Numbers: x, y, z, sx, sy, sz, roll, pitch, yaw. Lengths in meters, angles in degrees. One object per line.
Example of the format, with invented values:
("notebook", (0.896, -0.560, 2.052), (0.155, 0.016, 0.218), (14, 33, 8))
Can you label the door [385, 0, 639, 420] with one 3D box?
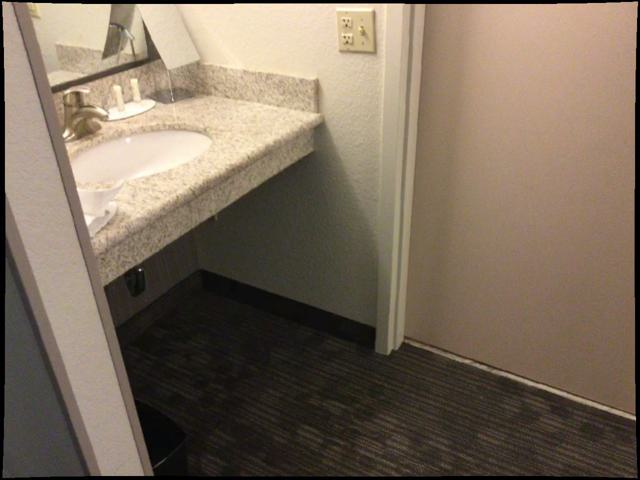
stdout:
("door", (0.649, -0.070, 1.690), (0.859, 1.201, 0.040), (19, 36, 23))
